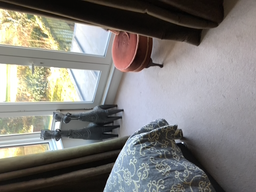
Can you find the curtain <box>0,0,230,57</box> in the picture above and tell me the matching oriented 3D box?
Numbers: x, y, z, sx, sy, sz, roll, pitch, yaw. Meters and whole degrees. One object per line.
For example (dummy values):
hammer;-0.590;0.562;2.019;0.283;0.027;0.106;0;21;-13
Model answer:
curtain;-0.290;-0.640;1.290;0.290;2.280;0.500;58;135;39
